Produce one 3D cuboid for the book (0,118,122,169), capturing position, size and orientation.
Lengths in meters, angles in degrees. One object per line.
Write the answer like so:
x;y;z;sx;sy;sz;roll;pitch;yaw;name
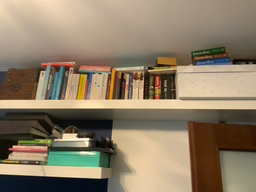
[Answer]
-0.400;0.280;1.220;0.690;0.230;0.290;1;-20;6;book
